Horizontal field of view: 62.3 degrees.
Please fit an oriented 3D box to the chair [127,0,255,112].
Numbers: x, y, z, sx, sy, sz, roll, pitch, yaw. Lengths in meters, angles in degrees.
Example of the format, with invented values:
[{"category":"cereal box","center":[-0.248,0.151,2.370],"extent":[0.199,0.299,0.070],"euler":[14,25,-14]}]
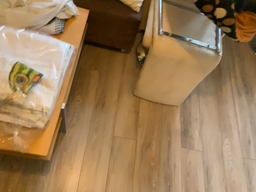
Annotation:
[{"category":"chair","center":[0.370,-0.440,1.360],"extent":[0.470,0.900,0.720],"euler":[13,61,-9]}]
